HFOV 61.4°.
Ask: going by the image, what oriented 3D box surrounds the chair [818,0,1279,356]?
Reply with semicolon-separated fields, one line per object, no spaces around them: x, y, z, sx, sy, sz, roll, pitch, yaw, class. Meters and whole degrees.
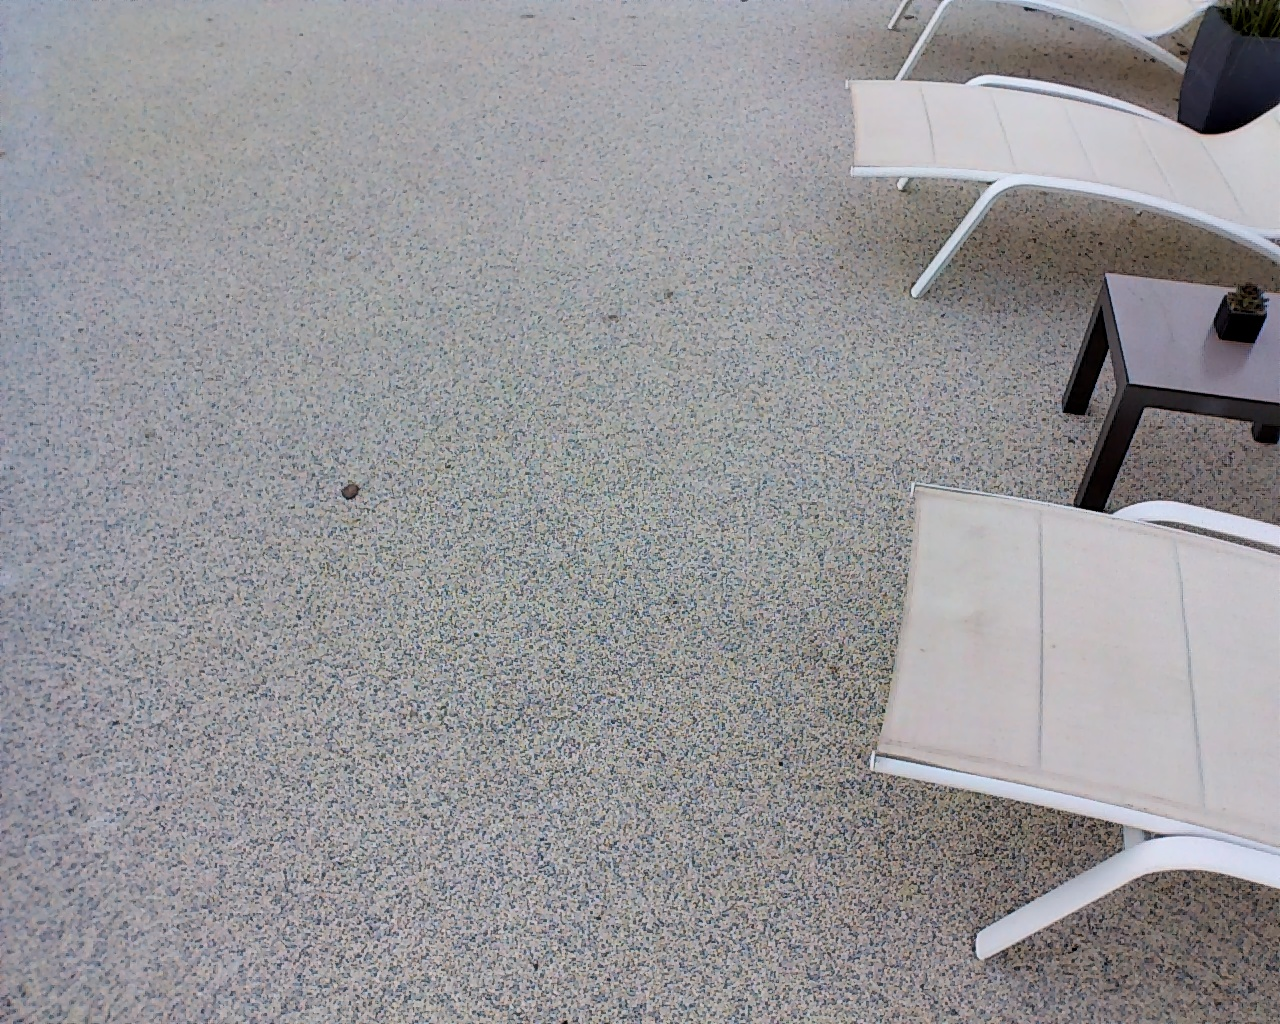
1.430;-1.040;2.830;1.790;0.930;0.770;5;43;4;chair
